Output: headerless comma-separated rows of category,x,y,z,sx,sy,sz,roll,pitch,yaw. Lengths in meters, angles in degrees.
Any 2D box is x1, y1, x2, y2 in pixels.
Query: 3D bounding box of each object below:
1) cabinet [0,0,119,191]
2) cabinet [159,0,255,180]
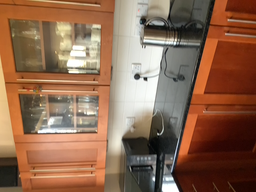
cabinet,-0.510,-0.070,1.660,0.350,0.730,2.150,-110,24,-62
cabinet,0.840,-0.220,1.650,0.680,0.770,1.610,-110,24,-62
